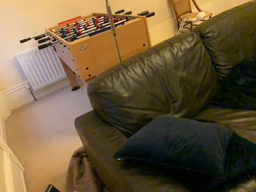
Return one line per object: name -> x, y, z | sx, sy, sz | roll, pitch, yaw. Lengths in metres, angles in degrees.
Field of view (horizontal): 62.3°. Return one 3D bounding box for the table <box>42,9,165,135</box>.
table -> -0.350, -0.400, 2.360 | 0.700, 0.850, 1.390 | -26, 31, -17
